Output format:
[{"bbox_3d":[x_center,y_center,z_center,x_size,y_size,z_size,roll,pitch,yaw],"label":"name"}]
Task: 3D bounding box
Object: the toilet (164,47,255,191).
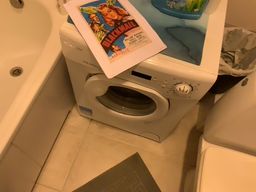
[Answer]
[{"bbox_3d":[0.430,0.340,0.830,0.370,0.740,0.640,17,62,1],"label":"toilet"}]
